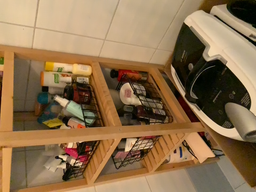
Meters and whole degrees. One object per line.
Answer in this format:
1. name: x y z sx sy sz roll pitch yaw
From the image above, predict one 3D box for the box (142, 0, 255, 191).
1. box: 0.520 -0.090 0.780 0.510 0.560 0.690 -61 40 38
